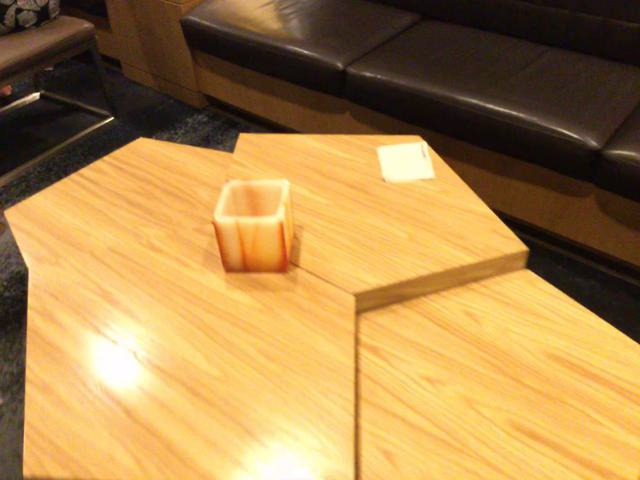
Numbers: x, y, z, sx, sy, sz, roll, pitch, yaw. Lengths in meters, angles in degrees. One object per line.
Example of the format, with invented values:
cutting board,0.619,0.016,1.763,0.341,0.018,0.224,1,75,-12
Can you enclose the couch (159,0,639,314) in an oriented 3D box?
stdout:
couch,0.580,-0.570,1.930,2.710,0.880,0.690,27,49,33
